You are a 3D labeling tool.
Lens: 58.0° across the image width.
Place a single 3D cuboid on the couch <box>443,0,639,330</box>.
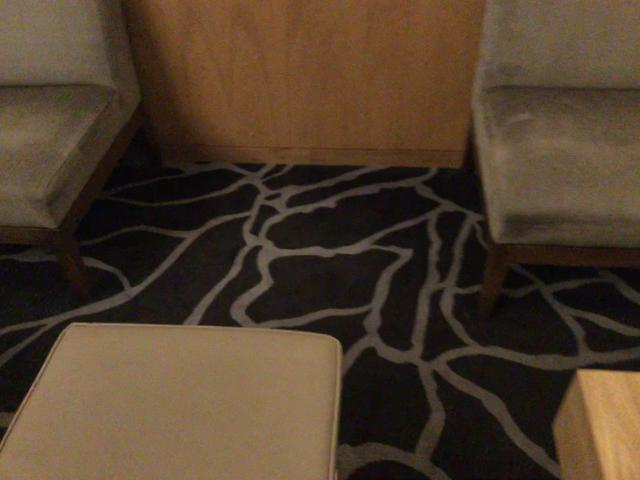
[{"bbox_3d":[0.830,-0.320,1.550,0.860,0.770,0.800,2,42,6],"label":"couch"}]
